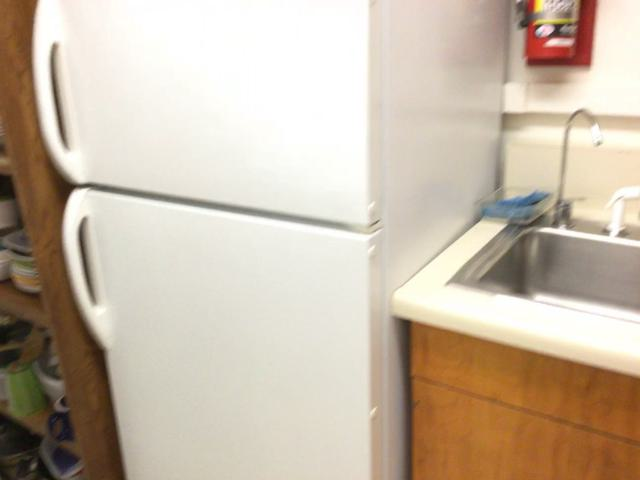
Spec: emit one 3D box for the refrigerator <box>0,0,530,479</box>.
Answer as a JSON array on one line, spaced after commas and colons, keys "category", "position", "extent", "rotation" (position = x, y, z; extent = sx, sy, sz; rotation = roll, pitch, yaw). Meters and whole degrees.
[{"category": "refrigerator", "position": [-0.020, 0.080, 1.450], "extent": [0.740, 1.540, 0.880], "rotation": [11, 26, 32]}]
